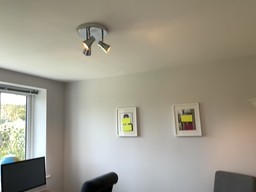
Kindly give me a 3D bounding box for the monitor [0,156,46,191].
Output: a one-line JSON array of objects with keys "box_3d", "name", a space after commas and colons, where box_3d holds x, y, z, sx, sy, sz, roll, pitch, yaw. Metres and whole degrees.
[{"box_3d": [-1.180, 0.920, 2.390, 0.050, 0.440, 0.570, -5, -14, 25], "name": "monitor"}]
